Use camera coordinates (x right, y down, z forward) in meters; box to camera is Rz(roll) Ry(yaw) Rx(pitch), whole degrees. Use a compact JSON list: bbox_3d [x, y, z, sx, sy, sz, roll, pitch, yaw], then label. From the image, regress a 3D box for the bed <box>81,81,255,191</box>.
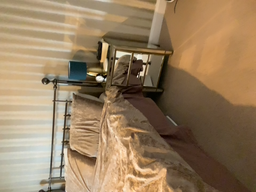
[{"bbox_3d":[0.140,0.970,1.920,2.140,0.670,1.550,-130,46,-59],"label":"bed"}]
